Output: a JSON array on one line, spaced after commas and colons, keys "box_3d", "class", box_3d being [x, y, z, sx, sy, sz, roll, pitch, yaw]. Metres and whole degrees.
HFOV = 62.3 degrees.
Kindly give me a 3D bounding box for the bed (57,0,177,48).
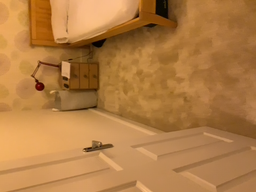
[{"box_3d": [-0.320, -1.450, 2.530, 2.030, 0.520, 1.490, 10, 100, 57], "class": "bed"}]
